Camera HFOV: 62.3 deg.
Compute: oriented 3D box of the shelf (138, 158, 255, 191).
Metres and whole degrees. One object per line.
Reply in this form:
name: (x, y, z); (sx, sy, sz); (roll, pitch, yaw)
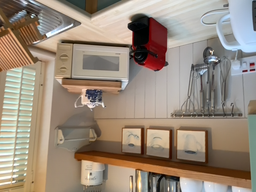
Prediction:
shelf: (0.340, 0.410, 1.140); (0.590, 0.070, 0.160); (-4, 170, 38)
